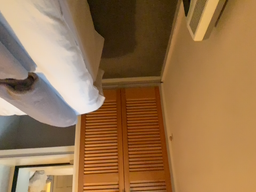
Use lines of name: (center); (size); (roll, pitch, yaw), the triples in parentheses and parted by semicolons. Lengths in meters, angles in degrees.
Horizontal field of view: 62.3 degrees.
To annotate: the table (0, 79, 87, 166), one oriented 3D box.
table: (-0.930, 0.300, 2.280); (0.860, 0.770, 0.510); (-4, 156, 0)
